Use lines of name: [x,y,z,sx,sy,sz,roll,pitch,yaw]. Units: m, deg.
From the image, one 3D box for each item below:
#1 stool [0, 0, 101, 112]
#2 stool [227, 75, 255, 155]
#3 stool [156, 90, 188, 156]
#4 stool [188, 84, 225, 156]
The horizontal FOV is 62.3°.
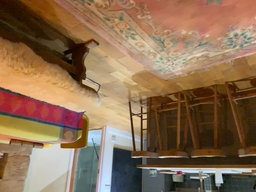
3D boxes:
stool: [-0.850,-0.380,1.400,0.360,0.550,1.560,-10,156,32]
stool: [1.330,0.220,2.330,0.290,0.800,0.300,-12,155,36]
stool: [0.580,0.370,2.840,0.290,0.800,0.300,-12,155,36]
stool: [0.950,0.300,2.600,0.290,0.800,0.300,-12,155,36]
